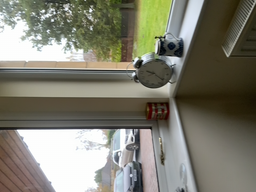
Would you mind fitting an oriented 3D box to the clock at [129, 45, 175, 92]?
[{"bbox_3d":[0.140,-0.170,1.360,0.260,0.240,0.150,95,173,-46],"label":"clock"}]
